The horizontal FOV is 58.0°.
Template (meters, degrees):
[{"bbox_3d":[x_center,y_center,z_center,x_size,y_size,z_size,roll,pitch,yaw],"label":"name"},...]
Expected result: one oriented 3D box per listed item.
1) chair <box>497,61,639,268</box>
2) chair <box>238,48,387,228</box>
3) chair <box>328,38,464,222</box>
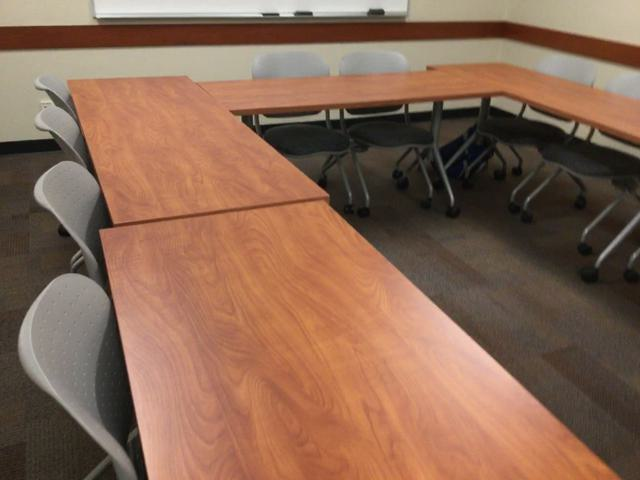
[{"bbox_3d":[1.420,-0.420,2.930,0.550,0.800,0.710,-10,30,-23],"label":"chair"},{"bbox_3d":[-0.070,-0.580,3.150,0.590,0.800,0.550,-10,29,-23],"label":"chair"},{"bbox_3d":[0.390,-0.640,3.260,0.460,0.870,0.550,-9,29,-22],"label":"chair"}]
